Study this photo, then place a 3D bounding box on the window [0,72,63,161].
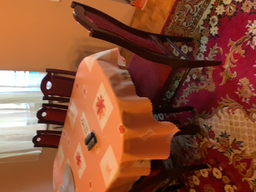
[{"bbox_3d":[-1.780,0.340,2.450,0.100,1.760,1.510,61,139,38],"label":"window"}]
